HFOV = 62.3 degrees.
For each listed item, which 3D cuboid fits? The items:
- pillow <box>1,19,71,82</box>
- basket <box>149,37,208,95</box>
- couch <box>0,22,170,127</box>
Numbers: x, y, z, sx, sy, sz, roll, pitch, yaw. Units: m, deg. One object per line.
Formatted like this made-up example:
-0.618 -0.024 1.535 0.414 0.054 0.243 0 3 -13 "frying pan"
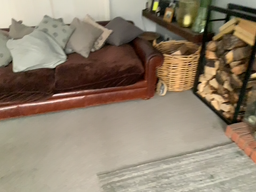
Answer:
-0.950 -0.480 2.230 0.580 0.340 0.150 -43 31 -6 "pillow"
0.590 -0.420 2.740 0.500 0.460 0.770 -3 32 -4 "basket"
-0.910 -0.310 2.410 2.470 0.680 1.030 -8 32 -11 "couch"
